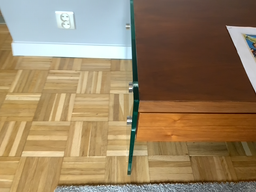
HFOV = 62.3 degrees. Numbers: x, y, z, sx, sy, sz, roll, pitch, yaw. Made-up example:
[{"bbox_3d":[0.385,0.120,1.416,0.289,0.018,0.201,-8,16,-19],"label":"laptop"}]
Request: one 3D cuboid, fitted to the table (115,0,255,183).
[{"bbox_3d":[0.570,-0.080,0.800,1.220,0.390,0.660,1,49,-3],"label":"table"}]
